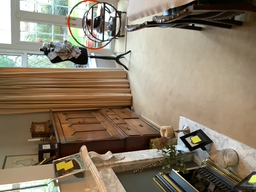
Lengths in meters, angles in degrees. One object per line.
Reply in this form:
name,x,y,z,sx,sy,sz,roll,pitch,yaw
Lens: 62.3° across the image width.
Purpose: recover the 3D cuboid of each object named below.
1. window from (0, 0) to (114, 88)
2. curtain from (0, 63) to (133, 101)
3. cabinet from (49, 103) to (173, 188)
window,-1.450,-1.540,3.630,1.190,2.110,2.580,-147,60,-63
curtain,-1.150,-0.230,3.680,0.230,2.470,0.570,121,141,-51
cabinet,-0.370,0.550,3.100,1.420,1.390,0.560,-154,66,-64
